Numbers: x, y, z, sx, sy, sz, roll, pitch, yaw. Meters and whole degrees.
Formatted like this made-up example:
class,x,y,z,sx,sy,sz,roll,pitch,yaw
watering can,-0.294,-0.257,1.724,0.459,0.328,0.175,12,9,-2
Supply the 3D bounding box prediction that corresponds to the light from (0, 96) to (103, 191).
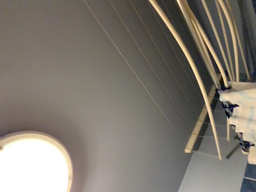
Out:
class,x,y,z,sx,sy,sz,roll,pitch,yaw
light,-0.280,0.250,0.560,0.110,0.370,0.320,9,-37,38
